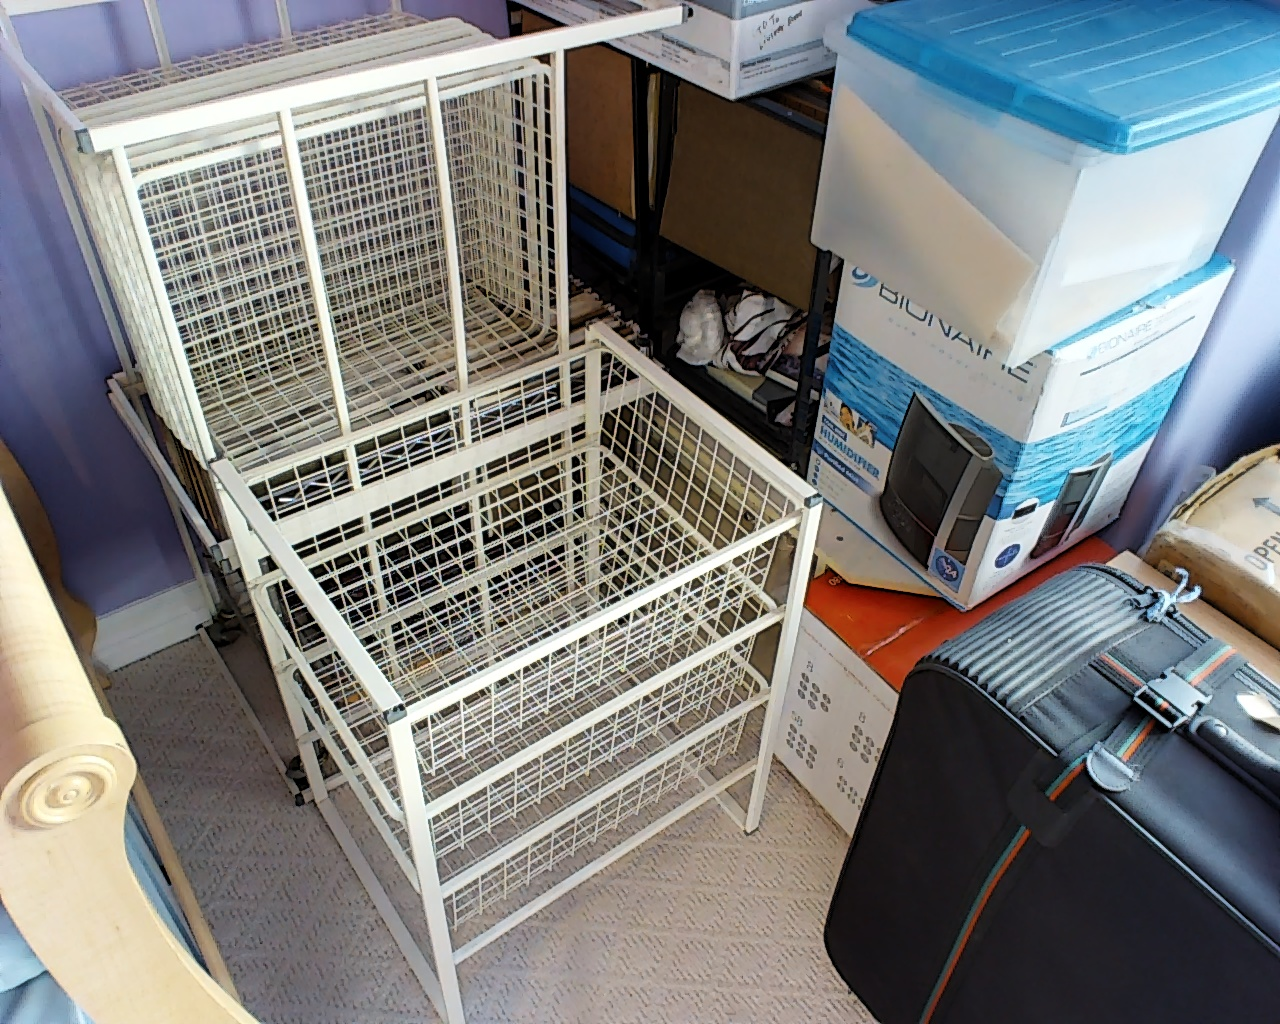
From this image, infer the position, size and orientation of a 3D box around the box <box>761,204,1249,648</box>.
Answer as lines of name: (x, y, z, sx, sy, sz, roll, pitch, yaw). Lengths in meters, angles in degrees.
box: (0.470, -0.140, 1.470, 0.400, 0.330, 0.420, -26, 48, -26)

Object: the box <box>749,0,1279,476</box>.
box: (0.460, -0.380, 1.220, 0.490, 0.350, 0.420, -29, 49, -28)
